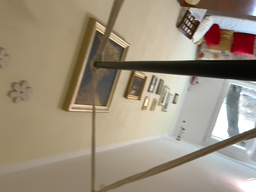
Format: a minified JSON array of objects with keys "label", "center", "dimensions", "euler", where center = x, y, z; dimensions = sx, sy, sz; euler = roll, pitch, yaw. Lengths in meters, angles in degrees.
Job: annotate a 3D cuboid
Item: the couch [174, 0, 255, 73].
[{"label":"couch","center":[1.930,-0.960,3.330],"dimensions":[2.050,0.880,1.040],"euler":[19,-177,22]}]
